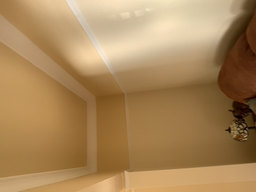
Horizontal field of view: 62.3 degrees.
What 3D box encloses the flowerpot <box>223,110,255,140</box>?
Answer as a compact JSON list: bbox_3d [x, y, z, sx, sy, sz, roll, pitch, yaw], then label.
[{"bbox_3d":[1.320,0.330,2.360,0.420,0.350,0.260,61,-157,-72],"label":"flowerpot"}]
